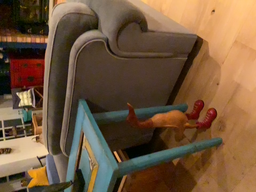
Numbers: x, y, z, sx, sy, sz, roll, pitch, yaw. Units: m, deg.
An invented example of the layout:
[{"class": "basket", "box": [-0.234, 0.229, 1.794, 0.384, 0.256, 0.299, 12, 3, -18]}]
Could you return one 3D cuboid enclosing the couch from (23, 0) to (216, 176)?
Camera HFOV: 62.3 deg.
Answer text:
[{"class": "couch", "box": [-0.250, -0.280, 1.660, 1.060, 0.880, 1.130, 52, 136, 40]}]
